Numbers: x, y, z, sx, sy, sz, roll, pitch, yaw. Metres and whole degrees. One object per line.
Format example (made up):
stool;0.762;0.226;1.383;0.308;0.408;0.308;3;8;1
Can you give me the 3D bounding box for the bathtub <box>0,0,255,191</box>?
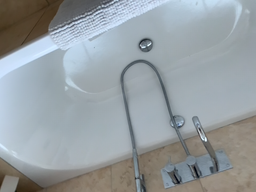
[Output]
bathtub;0.130;-0.210;1.040;2.120;0.560;0.740;-22;128;11
